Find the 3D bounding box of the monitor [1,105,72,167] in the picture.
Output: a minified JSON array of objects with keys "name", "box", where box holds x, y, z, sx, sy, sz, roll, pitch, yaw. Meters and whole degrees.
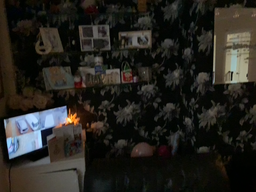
[{"name":"monitor","box":[-0.710,0.300,1.730,0.020,0.360,0.540,4,12,39]}]
